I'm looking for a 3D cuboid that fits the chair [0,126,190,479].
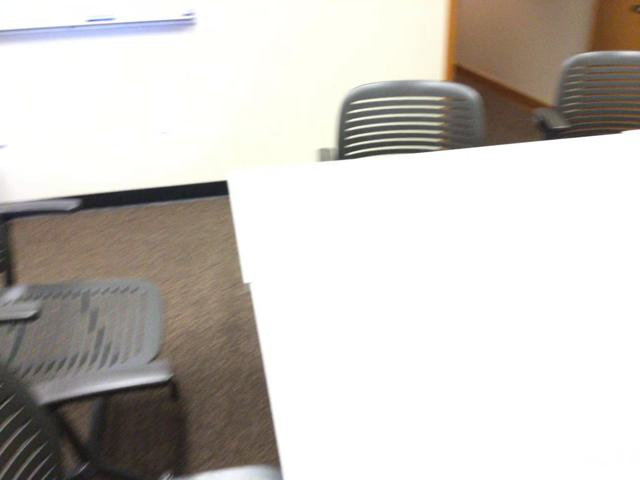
[{"bbox_3d":[-0.640,0.230,1.380,0.520,0.810,0.600,-9,28,-14],"label":"chair"}]
